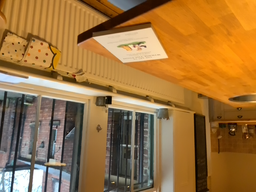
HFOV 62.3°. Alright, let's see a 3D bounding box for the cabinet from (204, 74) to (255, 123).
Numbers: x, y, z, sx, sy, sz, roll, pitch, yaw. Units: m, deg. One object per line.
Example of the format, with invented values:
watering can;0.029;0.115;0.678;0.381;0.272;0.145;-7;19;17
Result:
cabinet;2.210;0.100;4.590;0.870;0.910;0.610;-7;166;42
